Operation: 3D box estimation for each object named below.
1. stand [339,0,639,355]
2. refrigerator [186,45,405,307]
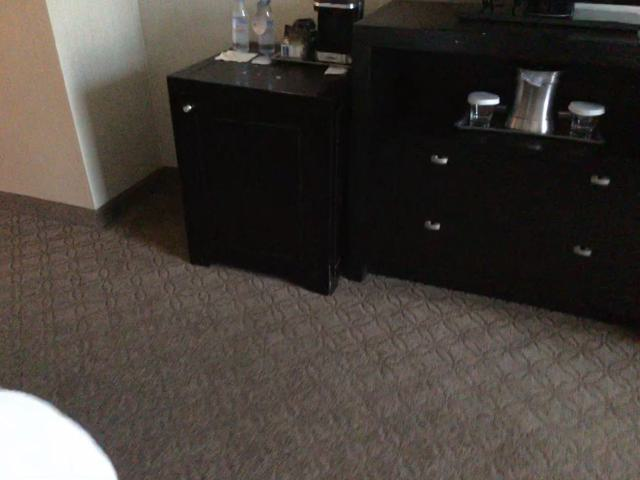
[{"bbox_3d":[0.710,-0.260,1.990,1.190,0.990,0.490,12,31,22],"label":"stand"},{"bbox_3d":[-0.060,-0.290,2.280,0.580,0.790,0.610,12,31,22],"label":"refrigerator"}]
